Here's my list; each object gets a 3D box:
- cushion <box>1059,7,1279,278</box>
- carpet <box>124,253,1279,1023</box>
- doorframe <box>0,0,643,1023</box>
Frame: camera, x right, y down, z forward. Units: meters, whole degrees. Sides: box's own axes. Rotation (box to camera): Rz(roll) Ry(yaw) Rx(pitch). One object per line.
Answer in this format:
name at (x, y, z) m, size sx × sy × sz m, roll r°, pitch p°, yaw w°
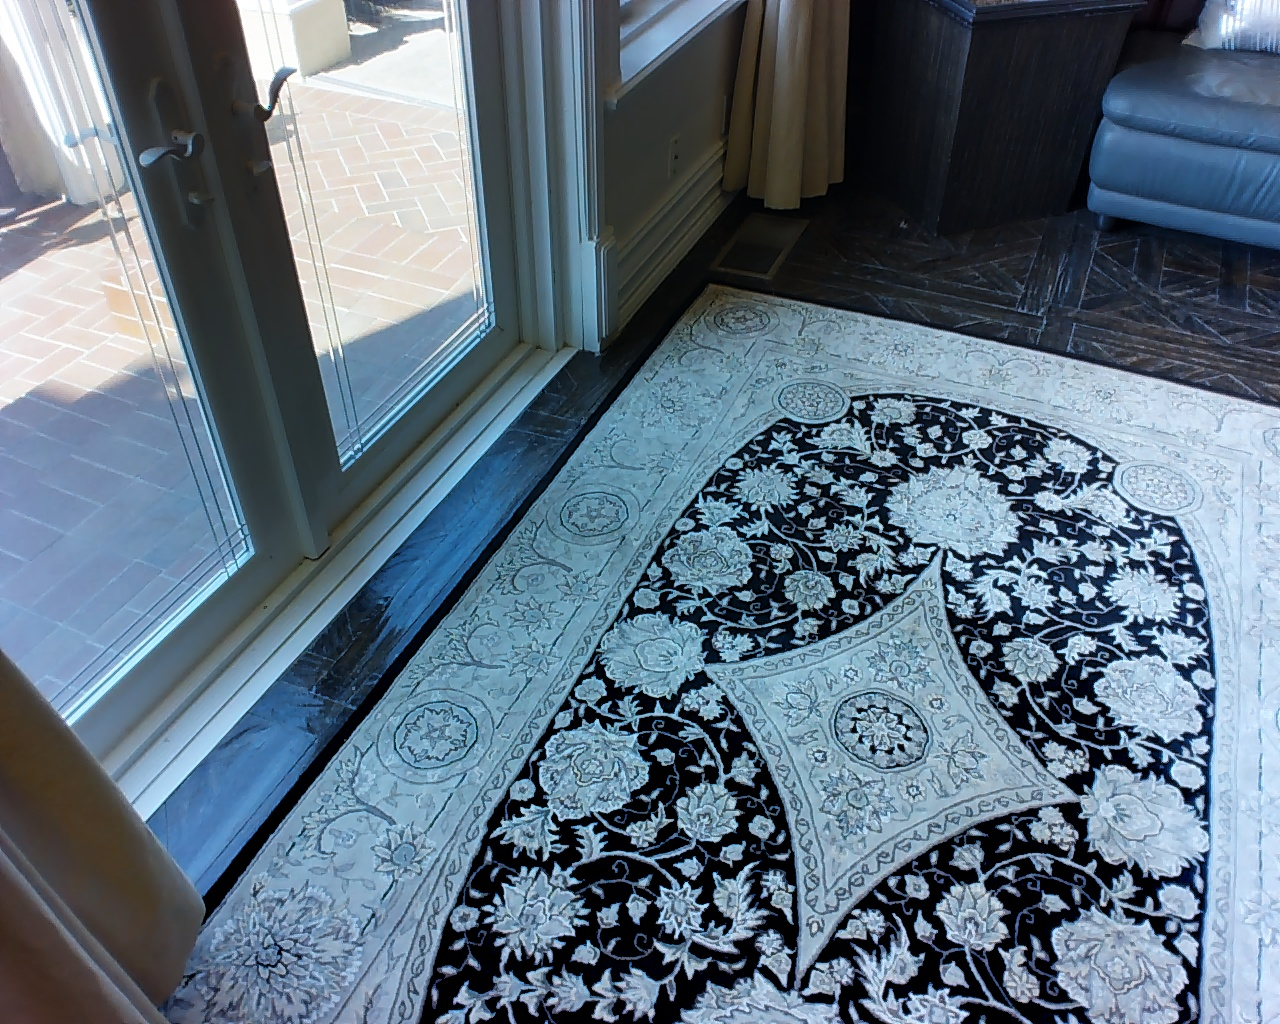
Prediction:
cushion at (1.770, -1.080, 3.110) m, size 0.850 × 0.450 × 0.700 m, roll 17°, pitch 44°, yaw 17°
carpet at (0.450, 0.360, 1.780) m, size 1.650 × 0.030 × 2.770 m, roll 17°, pitch 44°, yaw 18°
doorframe at (-0.530, -0.830, 1.280) m, size 0.220 × 2.490 × 2.140 m, roll 17°, pitch 44°, yaw 18°
